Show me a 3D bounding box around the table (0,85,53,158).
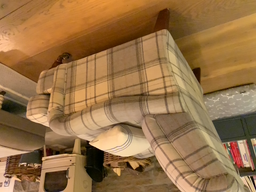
[{"bbox_3d":[-1.440,0.340,2.040,1.240,0.420,0.600,-13,153,22],"label":"table"}]
